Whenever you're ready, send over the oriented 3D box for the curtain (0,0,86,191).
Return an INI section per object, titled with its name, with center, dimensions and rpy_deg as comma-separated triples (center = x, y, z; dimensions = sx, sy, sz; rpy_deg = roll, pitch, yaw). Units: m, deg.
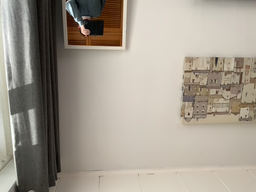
[curtain]
center = -0.480, -0.250, 1.260
dimensions = 0.330, 1.920, 0.570
rpy_deg = -1, -168, -5
